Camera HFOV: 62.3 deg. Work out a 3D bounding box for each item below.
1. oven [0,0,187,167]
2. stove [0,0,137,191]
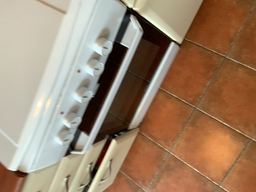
[{"bbox_3d":[-0.180,-0.170,1.030,0.620,0.710,0.510,32,106,20],"label":"oven"},{"bbox_3d":[-0.370,-0.150,0.630,0.620,0.170,0.510,32,106,20],"label":"stove"}]
